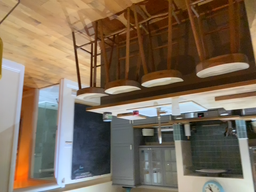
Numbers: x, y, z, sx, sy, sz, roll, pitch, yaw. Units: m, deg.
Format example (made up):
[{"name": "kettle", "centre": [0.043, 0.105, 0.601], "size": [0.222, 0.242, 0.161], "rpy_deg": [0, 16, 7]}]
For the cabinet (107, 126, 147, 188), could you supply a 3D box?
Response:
[{"name": "cabinet", "centre": [-0.030, 1.460, 5.250], "size": [0.680, 1.340, 0.700], "rpy_deg": [-9, 164, 33]}]

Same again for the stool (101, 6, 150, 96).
[{"name": "stool", "centre": [-0.030, -0.460, 2.330], "size": [0.360, 0.830, 0.360], "rpy_deg": [-13, 162, 42]}]

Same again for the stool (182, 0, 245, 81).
[{"name": "stool", "centre": [0.710, -0.600, 1.790], "size": [0.360, 0.830, 0.360], "rpy_deg": [-10, 164, 33]}]
